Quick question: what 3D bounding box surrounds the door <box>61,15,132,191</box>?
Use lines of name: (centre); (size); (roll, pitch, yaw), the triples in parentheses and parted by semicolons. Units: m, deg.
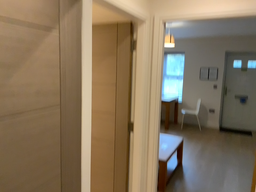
door: (-0.360, 0.280, 2.130); (0.760, 2.050, 0.030); (6, 9, 24)
